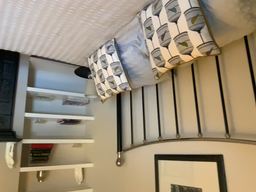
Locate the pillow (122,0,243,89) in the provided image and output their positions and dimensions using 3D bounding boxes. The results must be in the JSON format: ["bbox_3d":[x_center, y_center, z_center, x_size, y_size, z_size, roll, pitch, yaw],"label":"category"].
[{"bbox_3d":[0.220,-0.340,1.050,0.170,0.390,0.450,13,133,-39],"label":"pillow"}]

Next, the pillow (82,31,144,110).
[{"bbox_3d":[-0.140,-0.180,1.650,0.230,0.410,0.410,10,142,-37],"label":"pillow"}]
